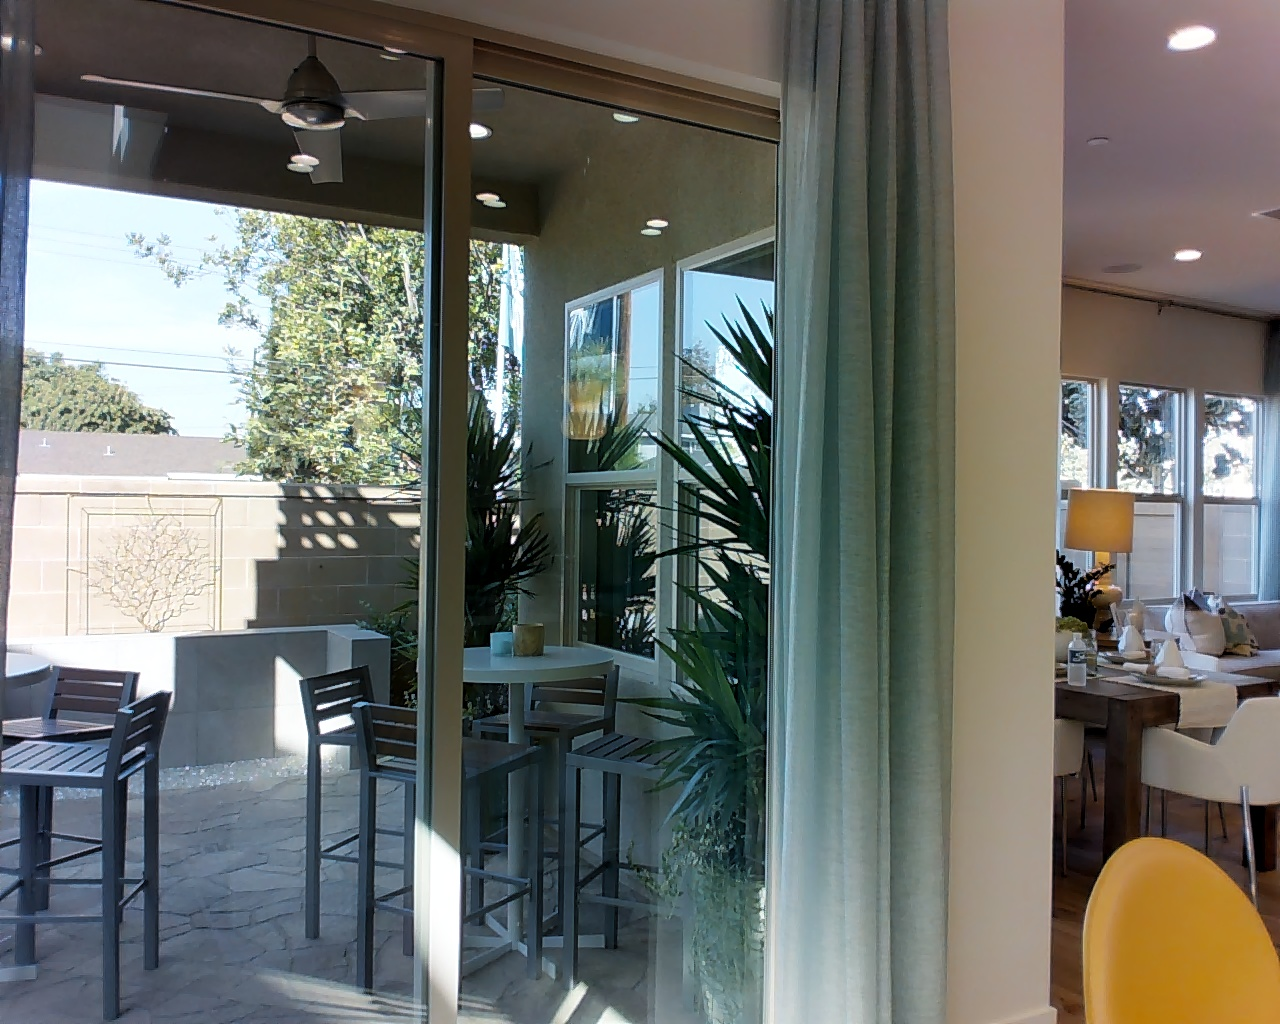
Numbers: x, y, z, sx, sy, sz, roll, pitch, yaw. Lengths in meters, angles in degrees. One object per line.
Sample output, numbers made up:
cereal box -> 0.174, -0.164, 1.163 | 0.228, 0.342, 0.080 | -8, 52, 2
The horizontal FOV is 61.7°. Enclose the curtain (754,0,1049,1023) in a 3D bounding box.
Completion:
curtain -> 0.580, -0.050, 2.370 | 0.480, 3.021, 0.290 | 2, 0, -29
